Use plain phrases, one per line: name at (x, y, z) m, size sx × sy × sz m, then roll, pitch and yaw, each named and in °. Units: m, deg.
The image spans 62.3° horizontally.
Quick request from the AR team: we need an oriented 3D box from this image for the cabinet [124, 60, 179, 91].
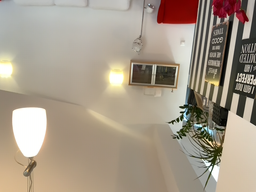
cabinet at (0.400, -0.380, 3.820) m, size 0.900 × 0.440 × 0.360 m, roll 4°, pitch -169°, yaw 0°
